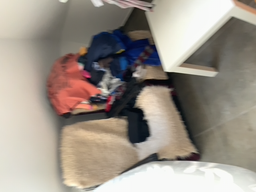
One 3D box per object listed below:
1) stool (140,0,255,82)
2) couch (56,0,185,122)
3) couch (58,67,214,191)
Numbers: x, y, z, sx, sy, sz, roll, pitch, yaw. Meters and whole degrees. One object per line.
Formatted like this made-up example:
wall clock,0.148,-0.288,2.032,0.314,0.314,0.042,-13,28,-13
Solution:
stool,0.500,-0.540,1.450,0.620,0.470,0.620,-43,51,51
couch,-0.160,-0.260,2.160,0.900,0.910,0.700,-51,45,47
couch,-0.030,0.360,1.850,0.900,0.910,0.700,-51,45,47
